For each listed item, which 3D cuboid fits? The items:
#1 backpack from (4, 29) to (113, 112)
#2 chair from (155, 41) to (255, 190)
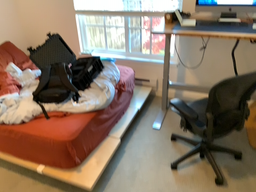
[{"bbox_3d":[-0.610,-0.320,2.140,0.790,0.450,0.910,-6,30,-8],"label":"backpack"},{"bbox_3d":[0.740,0.120,1.860,0.740,0.950,0.680,-12,31,-17],"label":"chair"}]
